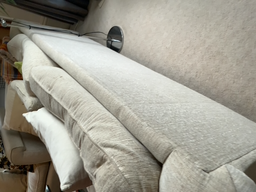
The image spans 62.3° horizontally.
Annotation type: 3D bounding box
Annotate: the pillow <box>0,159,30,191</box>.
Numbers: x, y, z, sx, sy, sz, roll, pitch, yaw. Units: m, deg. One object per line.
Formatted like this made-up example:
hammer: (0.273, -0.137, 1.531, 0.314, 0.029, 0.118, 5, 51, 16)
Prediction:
pillow: (-1.540, 1.150, 2.730, 0.210, 0.430, 0.510, 38, 132, 38)

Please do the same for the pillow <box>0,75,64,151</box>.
pillow: (-0.940, 0.170, 1.970, 0.170, 0.510, 0.500, 30, 154, 29)

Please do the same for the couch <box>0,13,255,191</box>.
couch: (-0.330, 0.170, 1.460, 2.190, 0.770, 0.960, 36, 117, 44)
